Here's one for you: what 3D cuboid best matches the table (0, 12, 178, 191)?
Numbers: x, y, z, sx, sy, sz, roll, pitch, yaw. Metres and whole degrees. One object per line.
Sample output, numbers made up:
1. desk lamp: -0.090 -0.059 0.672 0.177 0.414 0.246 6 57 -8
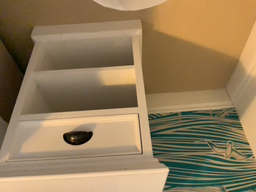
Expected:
1. table: -0.120 0.080 0.850 0.450 0.620 0.490 -4 144 0
